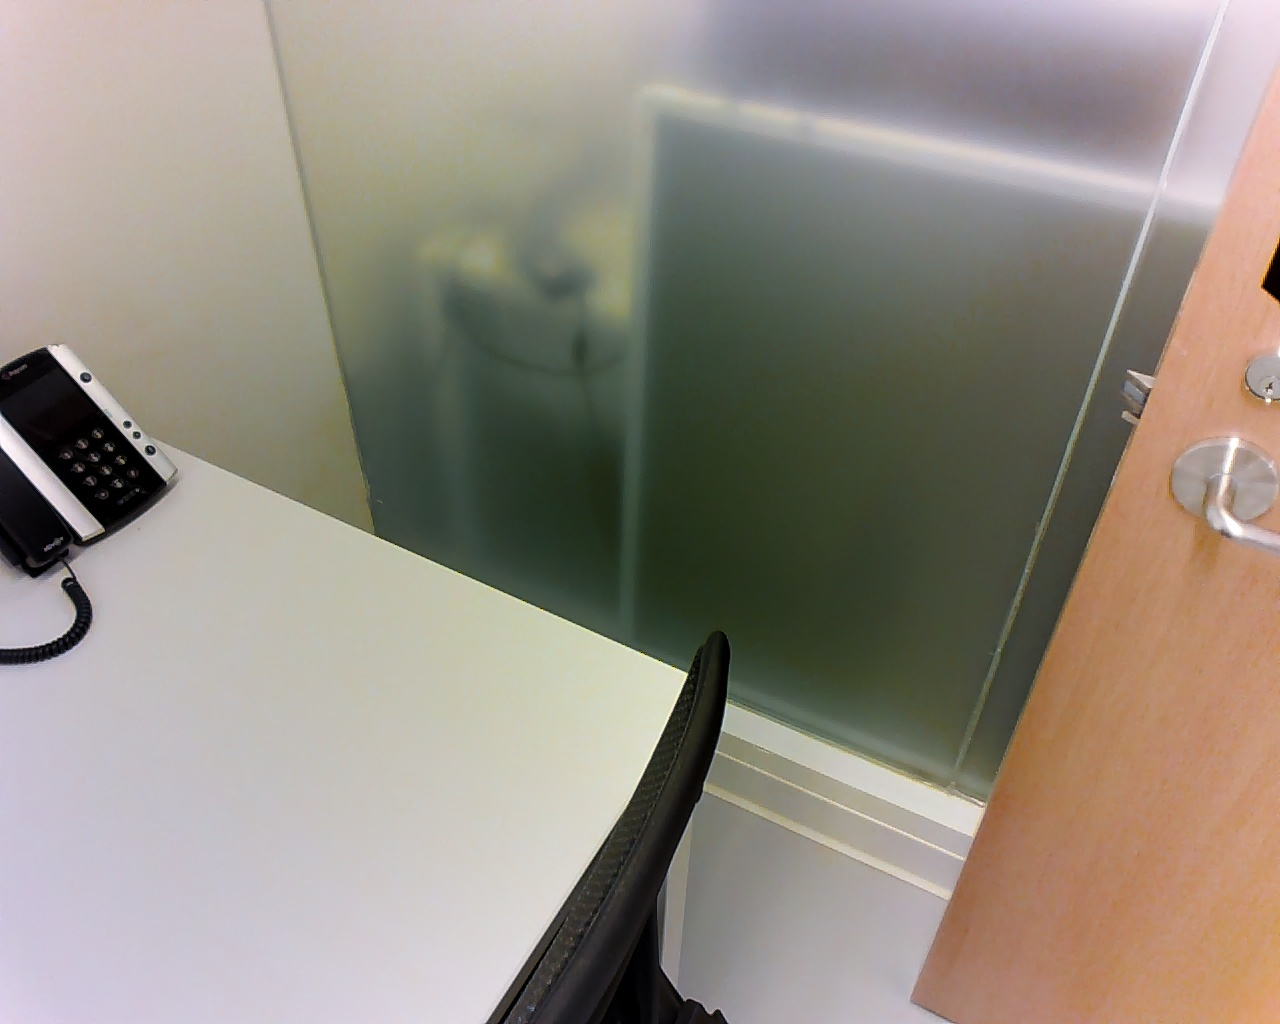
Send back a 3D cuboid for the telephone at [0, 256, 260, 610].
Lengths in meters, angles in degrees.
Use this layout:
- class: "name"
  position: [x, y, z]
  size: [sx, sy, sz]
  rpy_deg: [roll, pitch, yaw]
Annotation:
- class: "telephone"
  position: [-0.580, -0.090, 1.070]
  size: [0.220, 0.180, 0.270]
  rpy_deg: [20, 46, 21]
